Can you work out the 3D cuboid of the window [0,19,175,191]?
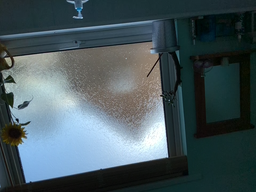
[{"bbox_3d":[-0.230,0.070,1.410,0.990,0.990,0.200,-9,-169,-9],"label":"window"}]

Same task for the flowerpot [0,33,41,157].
[{"bbox_3d":[-0.710,-0.010,1.270,0.190,0.670,0.220,-9,-168,-11],"label":"flowerpot"}]
